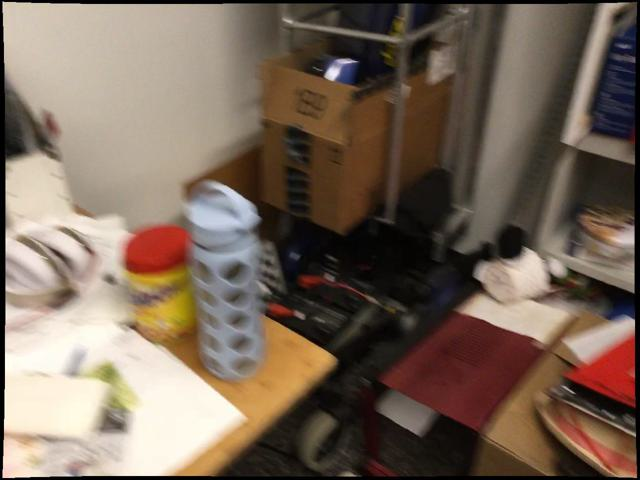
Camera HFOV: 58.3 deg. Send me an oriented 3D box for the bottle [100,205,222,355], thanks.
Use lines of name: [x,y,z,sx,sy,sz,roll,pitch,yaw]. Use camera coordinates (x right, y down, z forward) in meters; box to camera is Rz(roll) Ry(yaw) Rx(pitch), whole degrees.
bottle: [-0.200,0.050,0.740,0.100,0.140,0.090,26,43,30]

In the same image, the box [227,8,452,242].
box: [0.050,-0.290,1.350,0.310,0.360,0.400,26,43,30]
